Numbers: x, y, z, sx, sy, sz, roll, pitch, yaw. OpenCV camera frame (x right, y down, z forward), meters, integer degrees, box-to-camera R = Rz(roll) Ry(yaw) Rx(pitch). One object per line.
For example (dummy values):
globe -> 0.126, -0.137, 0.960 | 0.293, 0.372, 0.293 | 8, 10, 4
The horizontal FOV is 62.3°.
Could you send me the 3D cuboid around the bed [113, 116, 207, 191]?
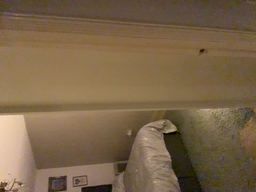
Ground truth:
bed -> 0.330, 1.650, 3.300 | 2.250, 0.620, 1.560 | 104, 159, -43
